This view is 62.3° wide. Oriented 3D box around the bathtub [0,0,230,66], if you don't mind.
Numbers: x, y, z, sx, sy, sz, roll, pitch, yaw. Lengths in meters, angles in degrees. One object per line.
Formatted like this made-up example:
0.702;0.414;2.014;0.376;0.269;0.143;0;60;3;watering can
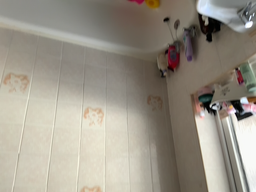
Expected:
-0.340;-0.750;1.270;1.650;0.570;0.710;8;154;-23;bathtub
